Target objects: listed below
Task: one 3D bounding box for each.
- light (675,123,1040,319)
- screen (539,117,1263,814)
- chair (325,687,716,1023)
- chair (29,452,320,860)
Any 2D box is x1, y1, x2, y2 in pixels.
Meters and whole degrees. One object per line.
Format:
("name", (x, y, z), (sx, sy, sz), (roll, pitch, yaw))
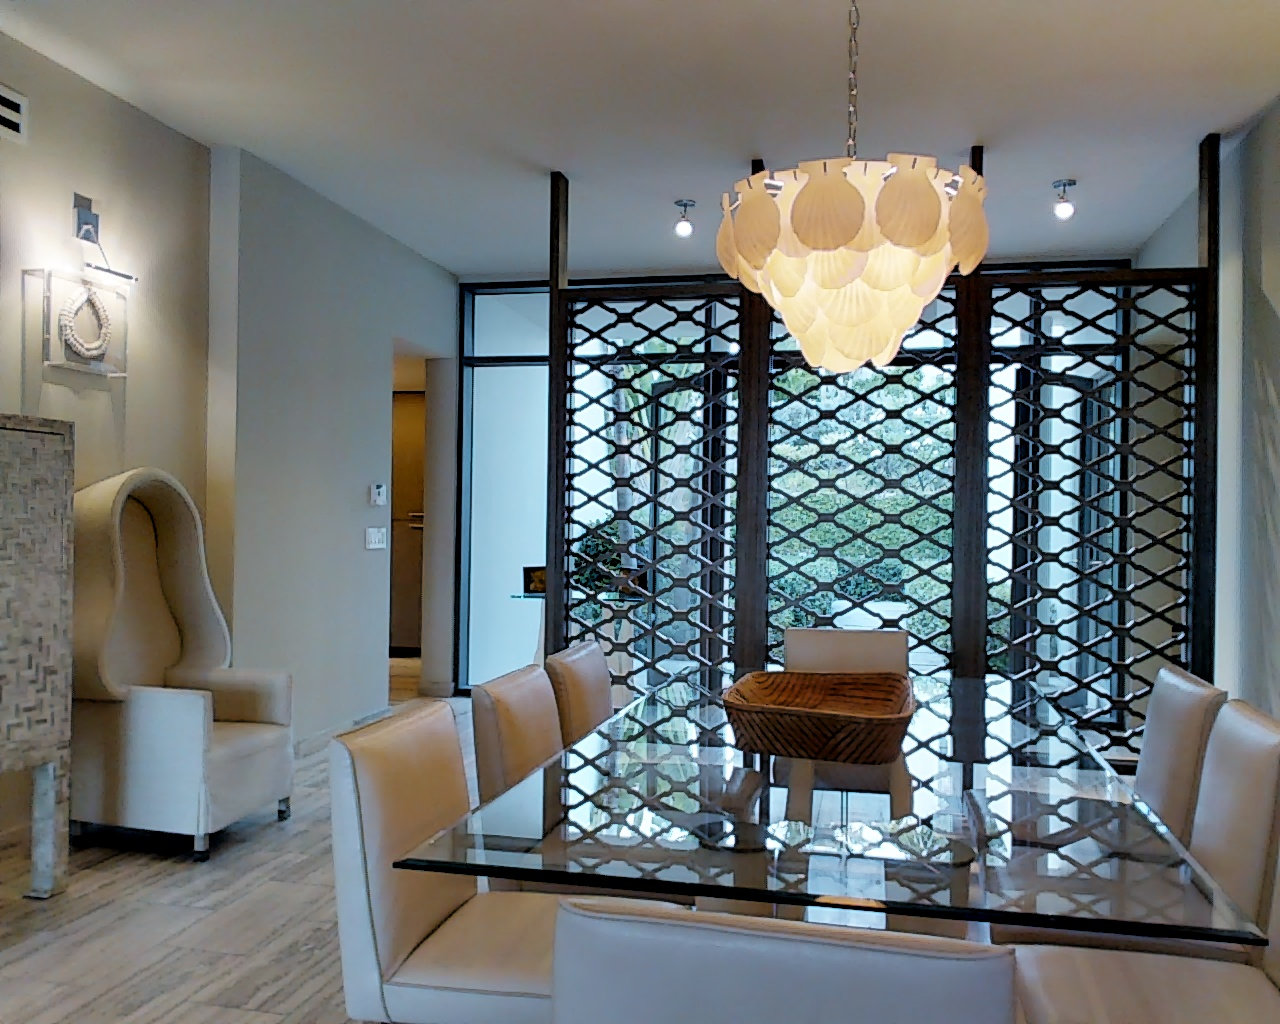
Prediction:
("light", (0.500, -0.650, 2.540), (0.610, 0.240, 0.580), (1, 0, -32))
("screen", (1.120, -0.220, 5.140), (3.280, 3.040, 0.150), (1, 0, 13))
("chair", (-0.210, 0.830, 2.160), (0.640, 0.850, 0.510), (1, 0, 13))
("chair", (-1.850, 0.520, 4.370), (0.750, 1.480, 0.790), (1, 0, 13))
